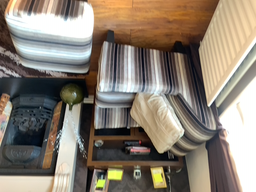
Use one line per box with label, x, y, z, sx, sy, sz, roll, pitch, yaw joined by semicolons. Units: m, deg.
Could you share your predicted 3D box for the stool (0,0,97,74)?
stool;-0.500;-0.460;1.470;0.520;0.350;0.470;5;149;-9
